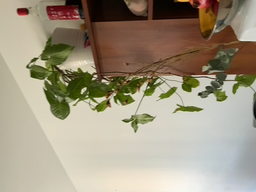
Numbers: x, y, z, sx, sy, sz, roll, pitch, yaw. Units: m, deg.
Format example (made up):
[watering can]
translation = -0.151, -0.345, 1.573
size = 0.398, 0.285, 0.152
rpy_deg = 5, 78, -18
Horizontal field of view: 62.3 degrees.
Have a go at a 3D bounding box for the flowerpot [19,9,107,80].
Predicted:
[flowerpot]
translation = -0.320, -0.290, 1.170
size = 0.220, 0.340, 0.350
rpy_deg = 85, -173, -46
